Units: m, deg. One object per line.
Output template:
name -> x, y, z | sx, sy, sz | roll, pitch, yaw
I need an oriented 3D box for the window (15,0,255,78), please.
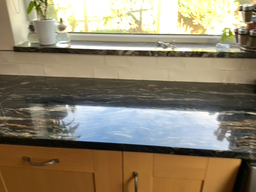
window -> 0.120, -0.780, 1.110 | 1.510, 1.320, 0.190 | 3, 26, 5
